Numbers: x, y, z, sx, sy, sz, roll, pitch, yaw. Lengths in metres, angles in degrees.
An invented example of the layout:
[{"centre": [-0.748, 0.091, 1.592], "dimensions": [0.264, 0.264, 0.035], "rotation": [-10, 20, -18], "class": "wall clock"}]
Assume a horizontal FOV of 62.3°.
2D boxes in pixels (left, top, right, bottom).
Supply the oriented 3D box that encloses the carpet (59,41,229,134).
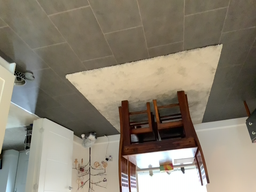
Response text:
[{"centre": [0.350, 0.140, 3.240], "dimensions": [1.720, 0.020, 2.500], "rotation": [-9, 154, 8], "class": "carpet"}]
